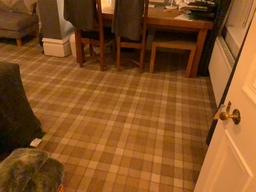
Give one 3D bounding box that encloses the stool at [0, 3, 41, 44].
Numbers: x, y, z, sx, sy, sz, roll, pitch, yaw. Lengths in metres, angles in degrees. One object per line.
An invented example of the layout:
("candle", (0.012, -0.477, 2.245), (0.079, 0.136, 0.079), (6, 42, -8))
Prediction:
("stool", (-2.090, -1.270, 3.650), (0.820, 0.450, 0.630), (10, 34, 9))
